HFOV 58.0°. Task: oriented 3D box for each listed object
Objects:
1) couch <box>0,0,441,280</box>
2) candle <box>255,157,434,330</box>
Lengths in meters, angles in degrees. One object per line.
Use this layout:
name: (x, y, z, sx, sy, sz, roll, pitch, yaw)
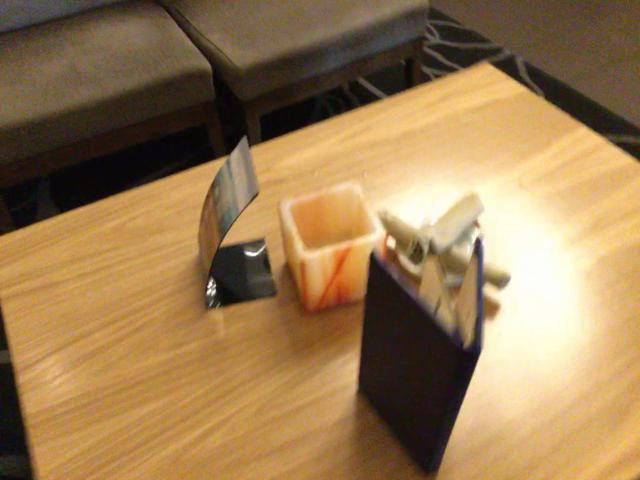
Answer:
couch: (-0.480, -0.730, 1.870, 1.510, 0.820, 0.860, -25, 49, -19)
candle: (0.040, 0.000, 0.970, 0.230, 0.140, 0.170, -25, 49, -19)
